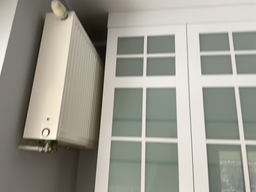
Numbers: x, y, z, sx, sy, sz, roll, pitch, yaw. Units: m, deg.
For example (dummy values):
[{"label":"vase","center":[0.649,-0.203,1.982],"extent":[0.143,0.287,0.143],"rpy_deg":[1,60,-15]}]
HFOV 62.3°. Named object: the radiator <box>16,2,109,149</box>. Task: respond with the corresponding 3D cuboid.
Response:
[{"label":"radiator","center":[-0.300,-0.040,1.250],"extent":[0.180,0.640,0.680],"rpy_deg":[0,-17,9]}]
